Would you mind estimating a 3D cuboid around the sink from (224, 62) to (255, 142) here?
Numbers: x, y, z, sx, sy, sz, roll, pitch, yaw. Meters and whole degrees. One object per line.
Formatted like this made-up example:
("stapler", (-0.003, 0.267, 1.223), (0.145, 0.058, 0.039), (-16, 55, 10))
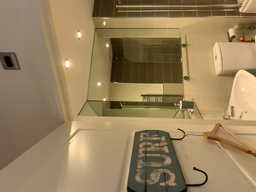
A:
("sink", (0.980, 0.020, 1.690), (0.540, 0.150, 0.450), (-83, -7, -65))
